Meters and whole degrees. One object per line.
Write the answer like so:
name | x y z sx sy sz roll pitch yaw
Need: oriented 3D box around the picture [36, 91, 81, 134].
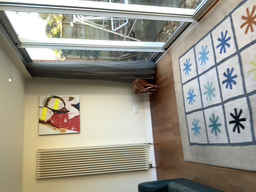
picture | -1.320 0.300 4.040 0.050 0.800 0.780 137 130 -72
